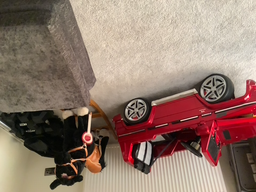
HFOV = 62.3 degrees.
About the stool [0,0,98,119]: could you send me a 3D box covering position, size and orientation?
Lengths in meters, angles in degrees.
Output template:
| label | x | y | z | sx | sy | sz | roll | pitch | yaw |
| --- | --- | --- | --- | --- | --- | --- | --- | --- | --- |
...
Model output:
| label | x | y | z | sx | sy | sz | roll | pitch | yaw |
| --- | --- | --- | --- | --- | --- | --- | --- | --- | --- |
| stool | -0.620 | -0.200 | 1.310 | 0.690 | 0.320 | 0.750 | -5 | 145 | 5 |
